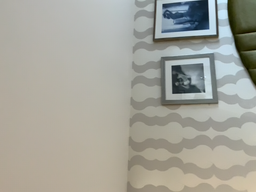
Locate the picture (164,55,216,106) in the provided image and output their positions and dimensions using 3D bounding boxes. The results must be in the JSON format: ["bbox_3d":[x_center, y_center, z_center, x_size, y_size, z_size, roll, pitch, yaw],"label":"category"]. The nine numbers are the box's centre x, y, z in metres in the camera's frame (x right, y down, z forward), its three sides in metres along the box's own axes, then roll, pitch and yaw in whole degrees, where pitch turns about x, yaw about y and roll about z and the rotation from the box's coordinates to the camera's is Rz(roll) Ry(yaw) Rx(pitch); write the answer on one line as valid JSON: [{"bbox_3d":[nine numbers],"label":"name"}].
[{"bbox_3d":[0.550,-0.140,1.920,0.020,0.440,0.470,42,-131,-70],"label":"picture"}]

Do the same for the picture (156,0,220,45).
[{"bbox_3d":[0.570,-0.760,2.080,0.050,0.580,0.490,43,-132,-70],"label":"picture"}]
